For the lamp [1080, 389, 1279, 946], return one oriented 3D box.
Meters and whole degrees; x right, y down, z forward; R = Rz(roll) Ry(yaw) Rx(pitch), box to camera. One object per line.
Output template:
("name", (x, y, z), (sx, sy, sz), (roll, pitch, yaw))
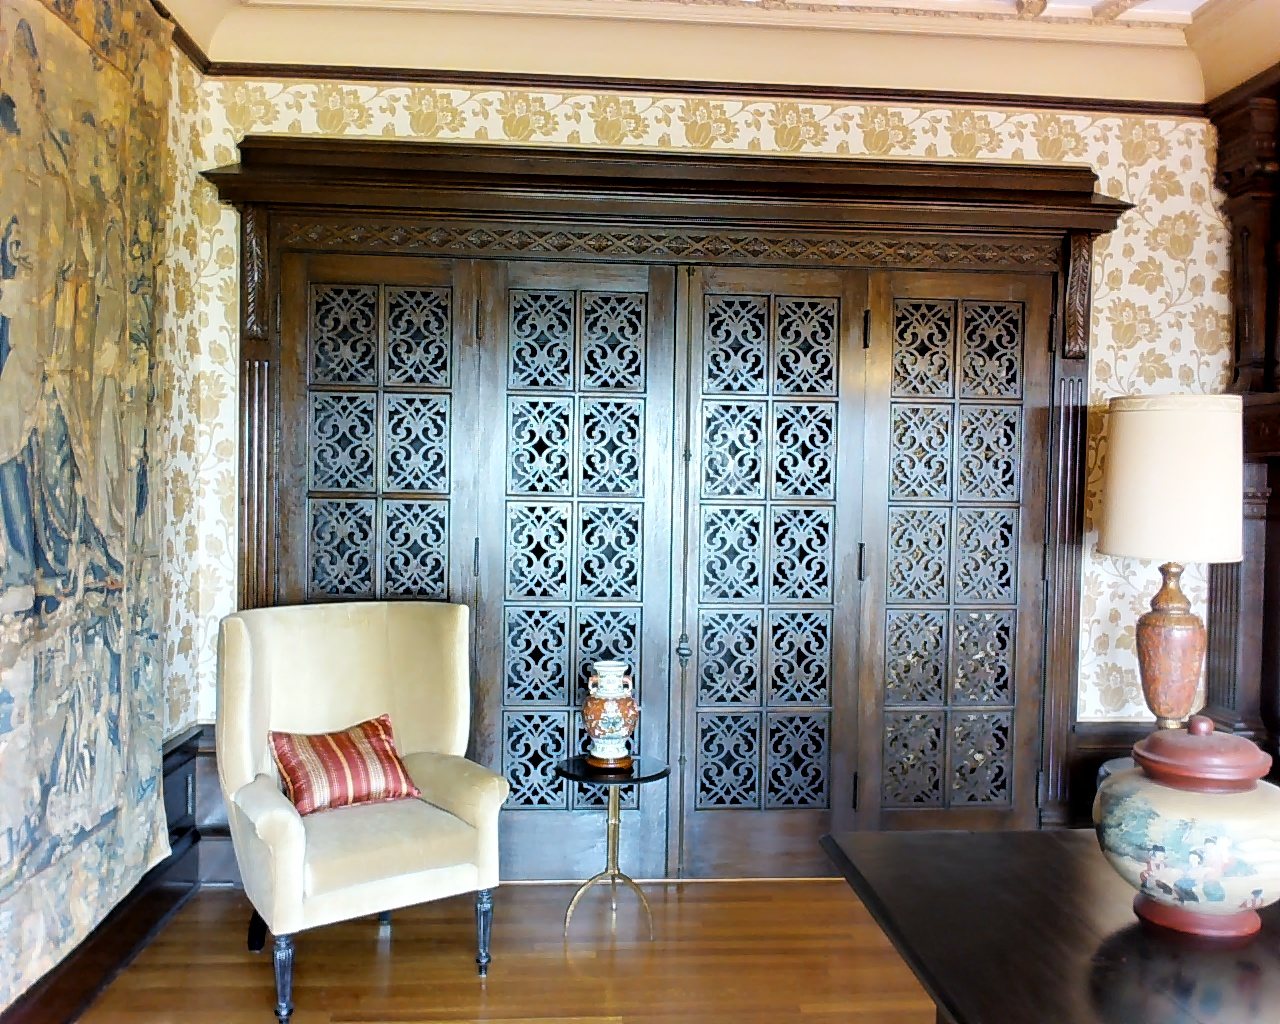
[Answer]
("lamp", (1.960, 0.530, 3.910), (0.450, 1.890, 0.490), (1, 1, -5))
